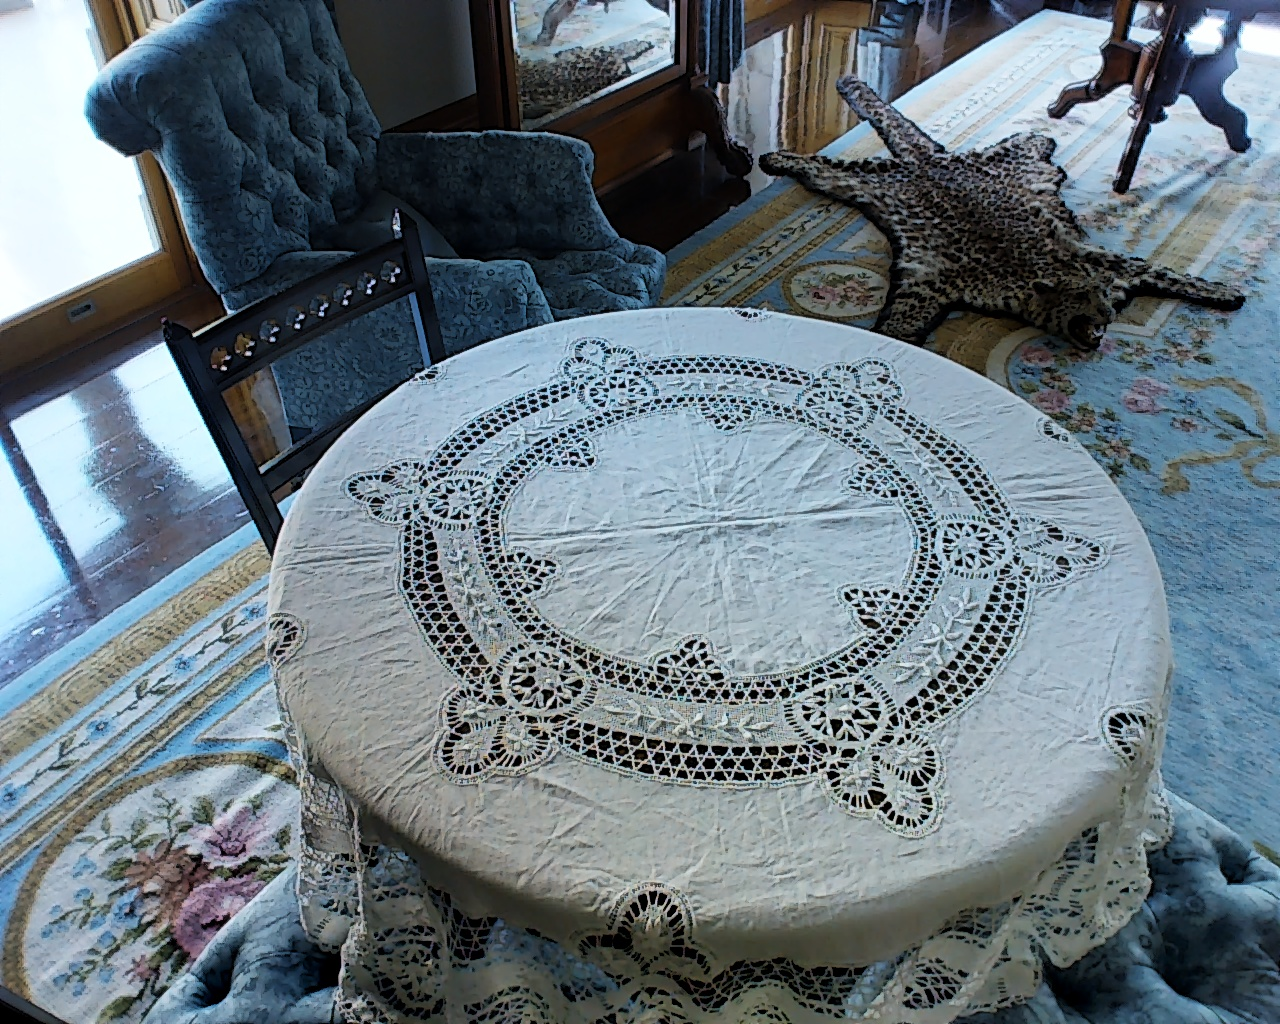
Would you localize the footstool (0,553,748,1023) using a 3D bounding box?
[{"bbox_3d":[-0.290,0.560,1.110,0.590,0.730,0.470,27,49,27],"label":"footstool"}]
